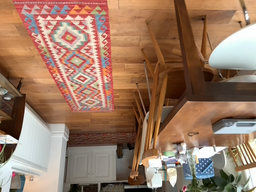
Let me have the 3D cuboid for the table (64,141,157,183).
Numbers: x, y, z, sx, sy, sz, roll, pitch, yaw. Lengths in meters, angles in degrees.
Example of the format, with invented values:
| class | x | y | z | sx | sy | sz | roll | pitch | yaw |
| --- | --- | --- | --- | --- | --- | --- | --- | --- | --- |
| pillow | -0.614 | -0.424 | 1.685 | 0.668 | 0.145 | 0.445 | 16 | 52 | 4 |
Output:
| class | x | y | z | sx | sy | sz | roll | pitch | yaw |
| --- | --- | --- | --- | --- | --- | --- | --- | --- | --- |
| table | -0.410 | 1.640 | 5.230 | 2.120 | 0.860 | 0.480 | -1 | 156 | -3 |
